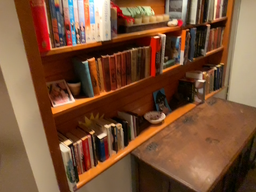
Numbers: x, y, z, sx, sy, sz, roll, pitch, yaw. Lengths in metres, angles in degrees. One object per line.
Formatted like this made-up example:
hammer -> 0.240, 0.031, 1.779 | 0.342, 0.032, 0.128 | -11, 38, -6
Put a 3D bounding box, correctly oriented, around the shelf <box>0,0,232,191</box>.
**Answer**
shelf -> 0.180, -0.280, 1.530 | 0.330, 0.990, 1.850 | 18, 32, 41
